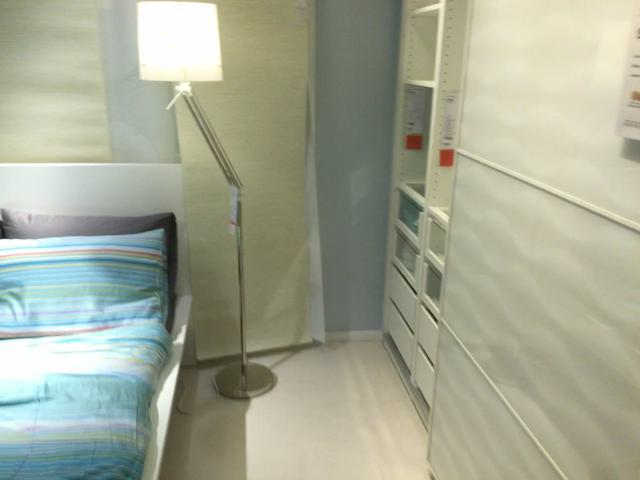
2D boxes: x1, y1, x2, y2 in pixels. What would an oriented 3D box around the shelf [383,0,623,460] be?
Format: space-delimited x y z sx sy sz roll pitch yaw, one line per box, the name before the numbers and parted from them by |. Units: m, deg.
shelf | 0.600 -0.380 2.280 0.480 2.240 0.960 -6 23 -6
